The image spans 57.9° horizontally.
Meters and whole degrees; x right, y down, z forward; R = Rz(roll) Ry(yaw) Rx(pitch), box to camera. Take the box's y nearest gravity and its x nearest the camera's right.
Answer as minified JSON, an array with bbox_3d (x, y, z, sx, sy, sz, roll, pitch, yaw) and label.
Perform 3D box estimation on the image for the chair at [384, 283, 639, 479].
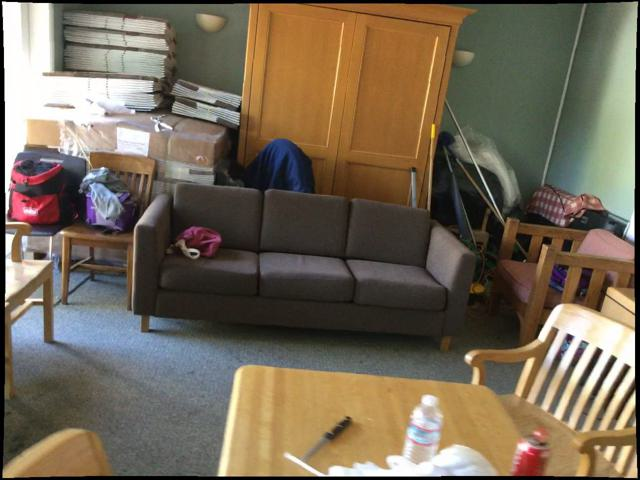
[{"bbox_3d":[0.699,0.651,1.910,0.669,0.791,0.660,-1,20,-18],"label":"chair"}]

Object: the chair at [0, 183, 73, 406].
[{"bbox_3d":[-1.618,0.210,2.700,0.649,0.811,0.700,3,19,-6],"label":"chair"}]

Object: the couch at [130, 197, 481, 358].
[{"bbox_3d":[-0.100,0.210,3.400,1.838,0.671,0.600,3,19,-6],"label":"couch"}]

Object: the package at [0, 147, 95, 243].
[{"bbox_3d":[-1.708,-0.300,3.680,0.370,0.460,0.540,3,19,-6],"label":"package"}]
